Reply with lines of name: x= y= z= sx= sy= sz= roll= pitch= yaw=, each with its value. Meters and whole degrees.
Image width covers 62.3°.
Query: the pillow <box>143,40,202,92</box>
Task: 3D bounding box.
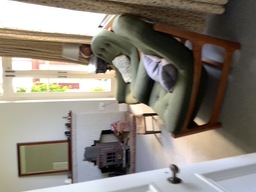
pillow: x=0.320 y=-0.270 z=1.700 sx=0.610 sy=0.150 sz=0.270 roll=-137 pitch=39 yaw=-60

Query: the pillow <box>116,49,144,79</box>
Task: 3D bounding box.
pillow: x=0.010 y=-0.390 z=2.670 sx=0.420 sy=0.220 sz=0.340 roll=-162 pitch=71 yaw=-69
